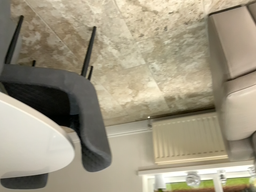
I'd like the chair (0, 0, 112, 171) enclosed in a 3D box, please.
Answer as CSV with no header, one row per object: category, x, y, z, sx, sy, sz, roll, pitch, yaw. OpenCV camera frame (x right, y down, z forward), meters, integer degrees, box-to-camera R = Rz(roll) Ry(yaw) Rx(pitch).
chair,-0.470,-0.030,1.290,0.630,0.810,0.550,7,149,-13
